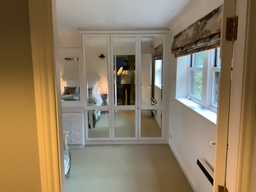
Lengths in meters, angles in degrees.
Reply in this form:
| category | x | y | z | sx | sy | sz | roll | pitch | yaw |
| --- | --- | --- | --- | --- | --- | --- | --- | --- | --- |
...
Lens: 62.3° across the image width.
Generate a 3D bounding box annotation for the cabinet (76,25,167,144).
| category | x | y | z | sx | sy | sz | roll | pitch | yaw |
| --- | --- | --- | --- | --- | --- | --- | --- | --- | --- |
| cabinet | -0.110 | -0.210 | 4.360 | 1.740 | 2.360 | 0.270 | -1 | 8 | -1 |
